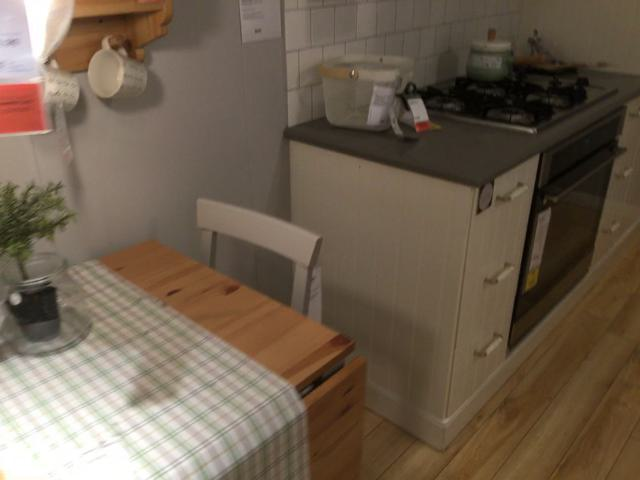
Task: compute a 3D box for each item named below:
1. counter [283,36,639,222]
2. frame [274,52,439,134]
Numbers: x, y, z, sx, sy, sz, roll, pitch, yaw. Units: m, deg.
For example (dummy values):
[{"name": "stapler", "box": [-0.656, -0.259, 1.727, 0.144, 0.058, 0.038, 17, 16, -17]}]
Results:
[{"name": "counter", "box": [0.670, -0.490, 2.010, 0.650, 0.210, 1.550, 20, 34, 40]}, {"name": "frame", "box": [0.110, -0.440, 1.680, 0.310, 0.140, 0.360, 20, 34, 40]}]
